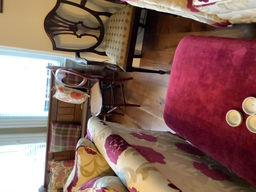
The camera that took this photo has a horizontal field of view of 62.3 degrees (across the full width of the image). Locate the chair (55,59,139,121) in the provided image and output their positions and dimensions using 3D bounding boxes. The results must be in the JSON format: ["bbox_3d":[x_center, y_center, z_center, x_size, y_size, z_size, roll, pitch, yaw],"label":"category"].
[{"bbox_3d":[-0.350,-0.040,2.320,0.350,0.790,0.520,-40,54,54],"label":"chair"}]

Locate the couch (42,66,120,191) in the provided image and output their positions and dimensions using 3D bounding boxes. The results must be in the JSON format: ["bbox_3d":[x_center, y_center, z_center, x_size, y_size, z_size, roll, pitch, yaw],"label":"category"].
[{"bbox_3d":[-0.680,0.540,2.900,0.530,0.770,1.780,22,107,60],"label":"couch"}]
